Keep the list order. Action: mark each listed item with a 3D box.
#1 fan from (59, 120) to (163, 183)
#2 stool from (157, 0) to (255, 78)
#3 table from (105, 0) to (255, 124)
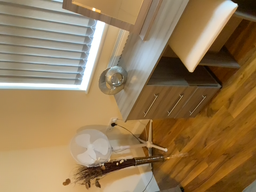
[{"bbox_3d":[-0.200,0.600,2.400,0.430,1.010,0.430,-62,38,41],"label":"fan"},{"bbox_3d":[0.590,-0.430,1.450,0.450,0.540,0.370,-64,37,39],"label":"stool"},{"bbox_3d":[0.410,-0.380,1.560,1.180,0.760,0.510,-64,37,39],"label":"table"}]
